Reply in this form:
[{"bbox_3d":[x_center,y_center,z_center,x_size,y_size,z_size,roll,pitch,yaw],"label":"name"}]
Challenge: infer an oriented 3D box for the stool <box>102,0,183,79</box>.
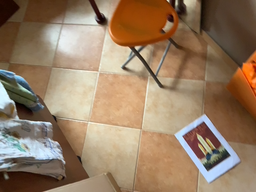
[{"bbox_3d":[0.100,-0.330,1.120,0.280,0.430,0.290,18,79,13],"label":"stool"}]
